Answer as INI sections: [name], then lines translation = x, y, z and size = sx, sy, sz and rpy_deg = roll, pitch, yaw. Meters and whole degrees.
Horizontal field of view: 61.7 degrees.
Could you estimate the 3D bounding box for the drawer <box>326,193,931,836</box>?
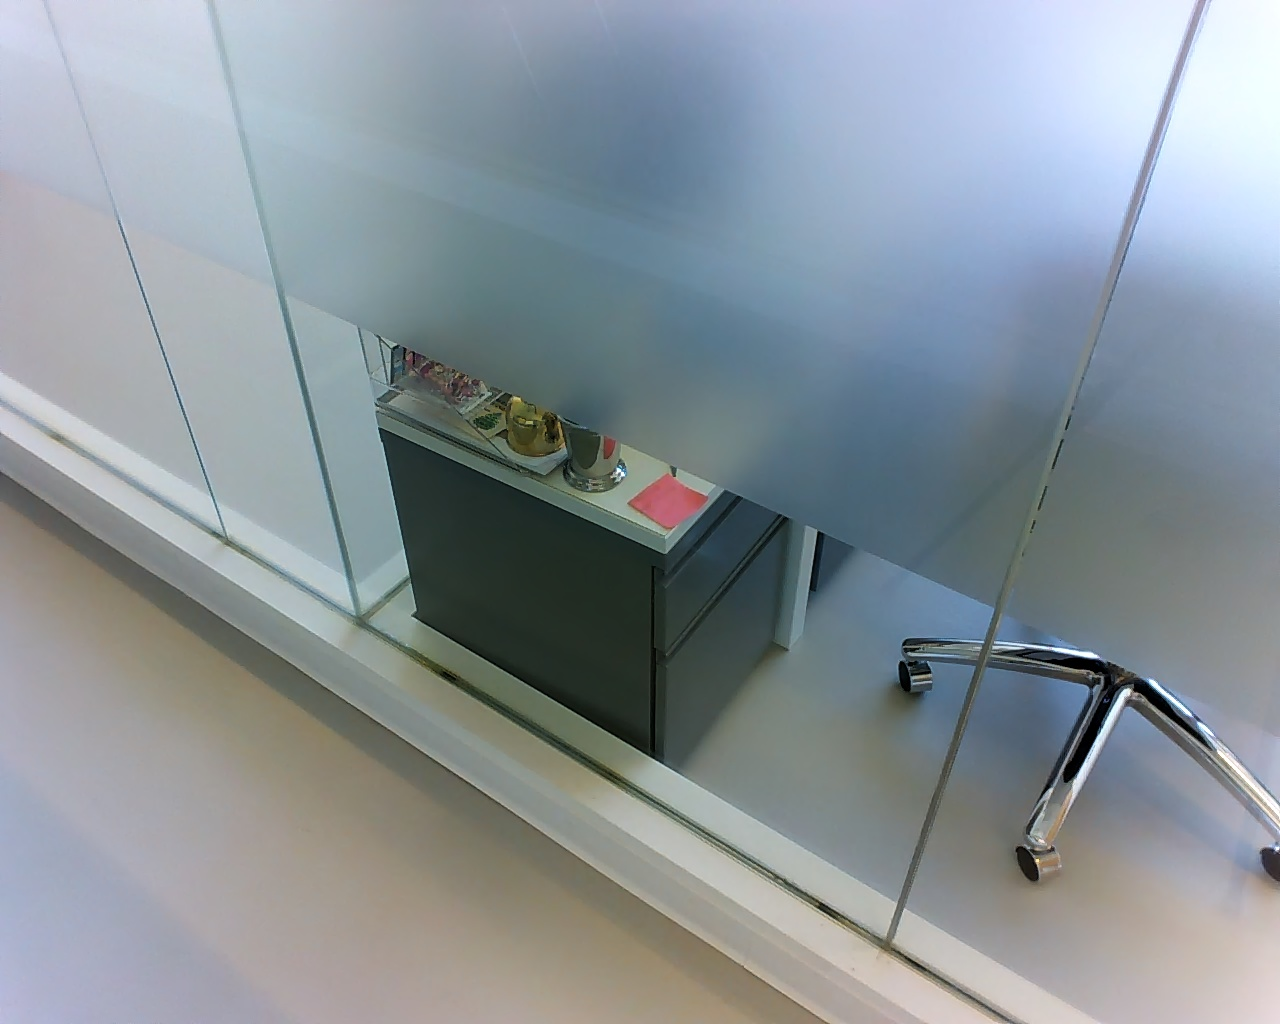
[drawer]
translation = 0.000, -0.030, 1.770
size = 0.630, 0.640, 0.630
rpy_deg = 25, 48, 25
